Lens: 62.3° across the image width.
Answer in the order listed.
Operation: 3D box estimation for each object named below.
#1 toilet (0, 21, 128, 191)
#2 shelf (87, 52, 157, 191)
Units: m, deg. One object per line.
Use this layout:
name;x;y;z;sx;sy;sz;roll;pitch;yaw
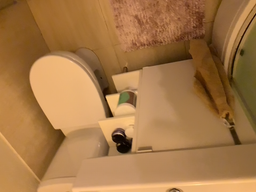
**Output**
toilet;-0.300;0.050;1.220;0.370;0.790;0.650;-9;124;13
shelf;0.030;0.120;1.200;0.190;0.820;0.400;-9;124;13
